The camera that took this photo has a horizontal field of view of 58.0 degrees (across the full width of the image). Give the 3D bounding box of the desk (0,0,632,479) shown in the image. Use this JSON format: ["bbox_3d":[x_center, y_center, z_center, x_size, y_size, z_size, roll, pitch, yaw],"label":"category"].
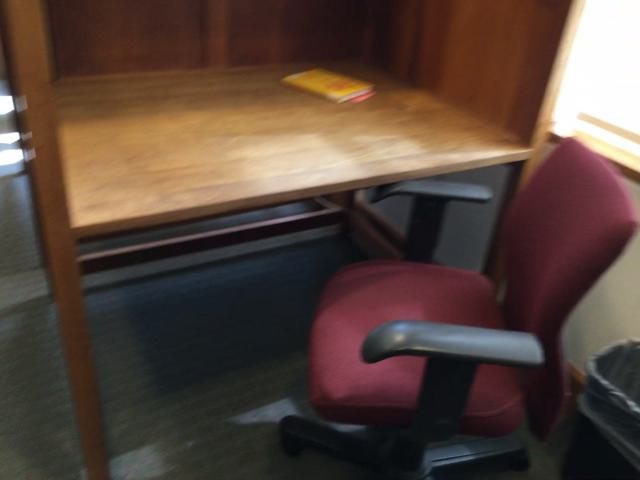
[{"bbox_3d":[-0.140,-0.290,1.640,1.310,1.380,0.990,-12,37,-26],"label":"desk"}]
